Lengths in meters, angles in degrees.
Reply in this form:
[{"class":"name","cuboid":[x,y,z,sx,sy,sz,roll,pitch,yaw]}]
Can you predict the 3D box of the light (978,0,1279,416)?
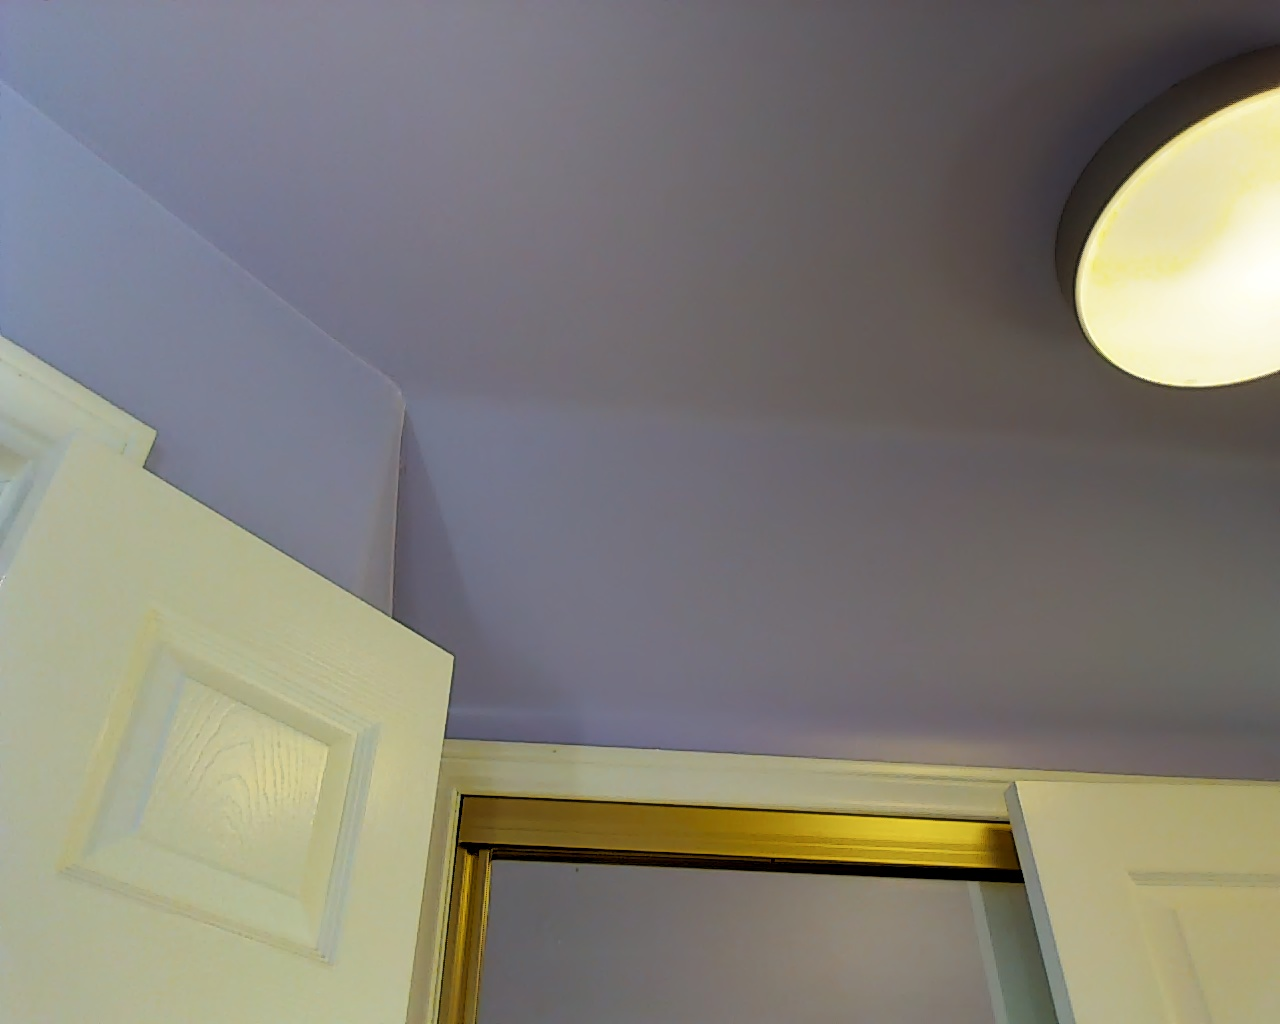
[{"class":"light","cuboid":[0.600,-0.280,1.070,0.390,0.110,0.380,3,-42,-3]}]
